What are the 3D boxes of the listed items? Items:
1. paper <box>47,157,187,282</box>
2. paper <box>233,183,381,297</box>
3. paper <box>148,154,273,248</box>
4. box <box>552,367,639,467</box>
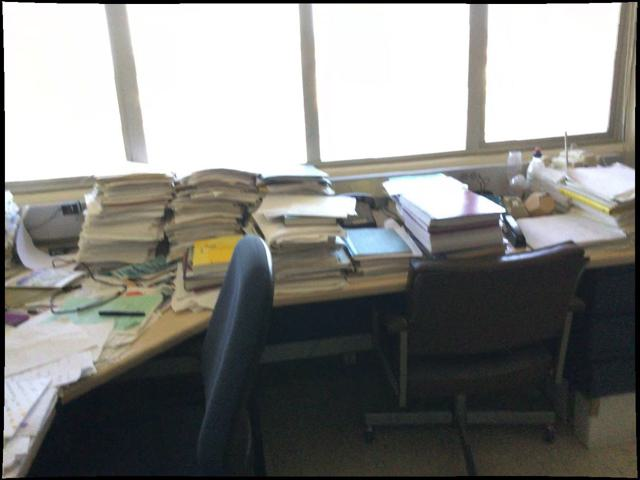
[{"bbox_3d":[-0.688,-0.090,2.040,0.379,0.321,0.370,-6,18,-10],"label":"paper"},{"bbox_3d":[-0.060,-0.020,1.890,0.409,0.221,0.410,-6,18,-10],"label":"paper"},{"bbox_3d":[-0.389,-0.150,2.070,0.389,0.241,0.290,-6,18,-10],"label":"paper"},{"bbox_3d":[1.087,0.652,2.150,0.339,0.231,0.210,-6,18,-10],"label":"box"}]
